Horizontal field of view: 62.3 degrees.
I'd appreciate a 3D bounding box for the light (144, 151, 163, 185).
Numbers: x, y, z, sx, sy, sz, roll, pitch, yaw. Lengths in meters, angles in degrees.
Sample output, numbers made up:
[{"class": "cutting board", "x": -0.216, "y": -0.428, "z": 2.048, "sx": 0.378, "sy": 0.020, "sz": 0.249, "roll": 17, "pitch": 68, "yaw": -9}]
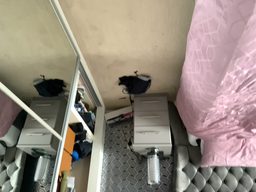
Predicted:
[{"class": "light", "x": 0.270, "y": 0.770, "z": 2.250, "sx": 0.190, "sy": 0.300, "sz": 0.230, "roll": -3, "pitch": 150, "yaw": 7}]
